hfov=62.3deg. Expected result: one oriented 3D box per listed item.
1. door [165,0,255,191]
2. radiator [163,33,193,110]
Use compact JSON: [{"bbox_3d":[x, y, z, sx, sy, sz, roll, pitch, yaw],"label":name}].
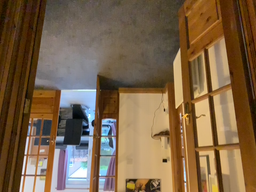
[{"bbox_3d":[0.570,0.120,1.390,0.170,2.020,0.790,4,163,-17],"label":"door"},{"bbox_3d":[0.530,-0.230,2.350,0.170,0.660,0.620,0,164,2],"label":"radiator"}]
